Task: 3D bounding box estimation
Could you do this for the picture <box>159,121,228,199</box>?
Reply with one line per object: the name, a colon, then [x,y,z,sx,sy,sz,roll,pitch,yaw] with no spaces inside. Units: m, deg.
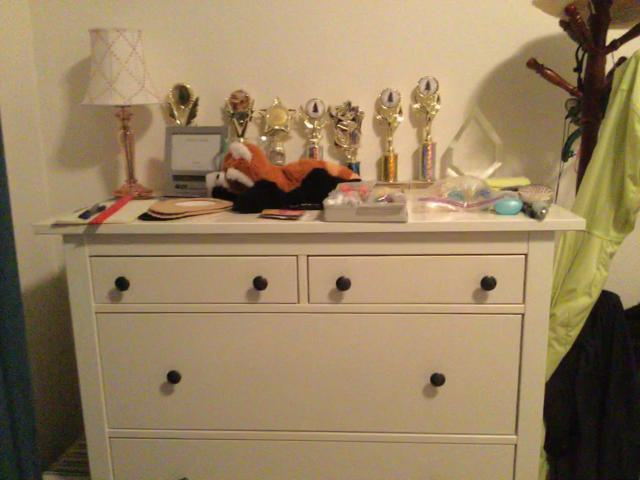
picture: [-0.330,-0.210,1.520,0.150,0.190,0.060,-4,10,-1]
